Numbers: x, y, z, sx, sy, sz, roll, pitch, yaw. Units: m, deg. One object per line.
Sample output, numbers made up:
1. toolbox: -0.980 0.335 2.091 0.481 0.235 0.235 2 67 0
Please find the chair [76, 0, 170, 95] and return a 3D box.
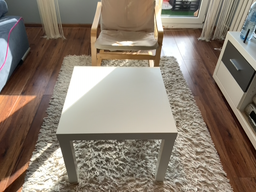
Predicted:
1. chair: -0.040 -0.680 1.910 0.610 1.000 0.870 2 41 -1
